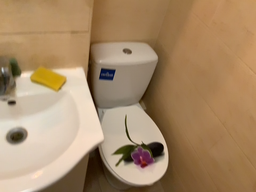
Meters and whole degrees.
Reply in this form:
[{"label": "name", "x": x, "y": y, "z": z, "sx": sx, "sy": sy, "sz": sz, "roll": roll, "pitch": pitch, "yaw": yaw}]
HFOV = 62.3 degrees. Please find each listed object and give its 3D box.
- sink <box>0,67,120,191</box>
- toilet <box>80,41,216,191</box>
[{"label": "sink", "x": -0.340, "y": 0.130, "z": 0.630, "sx": 0.510, "sy": 0.190, "sz": 0.380, "roll": -7, "pitch": 51, "yaw": -23}, {"label": "toilet", "x": -0.010, "y": 0.190, "z": 1.220, "sx": 0.380, "sy": 0.740, "sz": 0.650, "roll": -6, "pitch": 51, "yaw": -21}]
